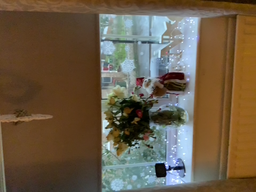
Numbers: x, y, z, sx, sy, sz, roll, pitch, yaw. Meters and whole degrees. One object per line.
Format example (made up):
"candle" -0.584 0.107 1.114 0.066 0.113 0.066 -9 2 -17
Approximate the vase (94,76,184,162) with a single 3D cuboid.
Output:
"vase" 0.050 0.110 1.380 0.320 0.510 0.480 -158 68 -76
